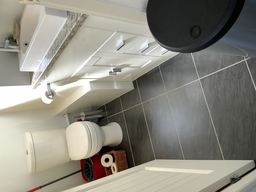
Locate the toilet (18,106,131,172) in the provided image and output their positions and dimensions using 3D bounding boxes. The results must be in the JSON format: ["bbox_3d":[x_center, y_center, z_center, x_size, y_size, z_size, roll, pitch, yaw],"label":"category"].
[{"bbox_3d":[-0.530,0.410,2.040,0.710,0.790,0.380,-30,70,49],"label":"toilet"}]

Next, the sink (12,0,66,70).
[{"bbox_3d":[-0.520,-0.390,1.170,0.590,0.100,0.290,-24,74,50],"label":"sink"}]

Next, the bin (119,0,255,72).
[{"bbox_3d":[0.370,-0.310,0.860,0.340,0.690,0.290,-33,67,48],"label":"bin"}]
